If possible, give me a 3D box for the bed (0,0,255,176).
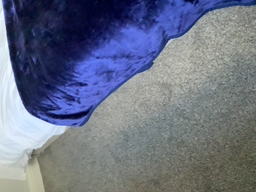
[{"bbox_3d":[-0.590,-0.620,1.460,2.100,0.530,1.710,-36,65,33],"label":"bed"}]
